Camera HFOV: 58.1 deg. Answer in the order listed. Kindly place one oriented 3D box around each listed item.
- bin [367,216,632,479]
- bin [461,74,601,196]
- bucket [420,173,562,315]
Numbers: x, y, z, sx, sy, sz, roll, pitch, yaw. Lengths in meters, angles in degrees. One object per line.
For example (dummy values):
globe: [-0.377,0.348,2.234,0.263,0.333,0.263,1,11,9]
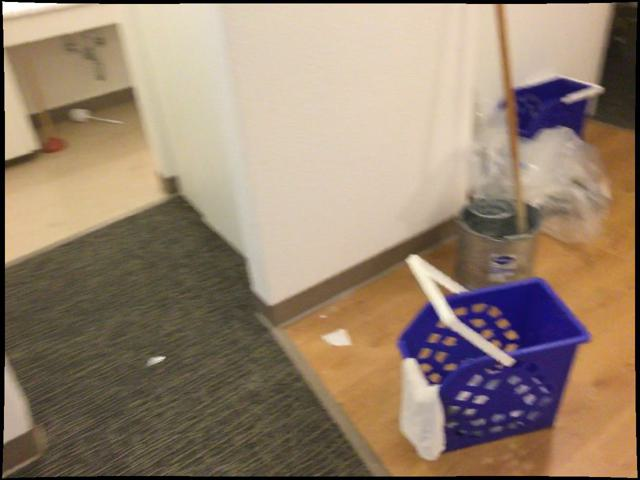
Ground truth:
bin: [0.419,0.281,1.480,0.489,0.491,0.340,-12,34,-9]
bin: [0.987,-0.511,2.720,0.569,0.341,0.310,-26,38,-27]
bucket: [0.598,0.000,2.070,0.320,0.291,0.350,-26,38,-27]
